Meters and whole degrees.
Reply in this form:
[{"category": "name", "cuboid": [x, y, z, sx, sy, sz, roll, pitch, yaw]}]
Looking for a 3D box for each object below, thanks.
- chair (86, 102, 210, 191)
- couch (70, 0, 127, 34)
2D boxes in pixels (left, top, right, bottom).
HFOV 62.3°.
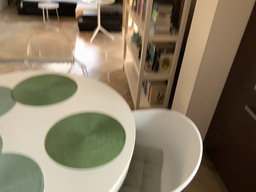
[{"category": "chair", "cuboid": [0.090, 0.540, 1.210, 0.480, 0.810, 0.460, 12, 35, 9]}, {"category": "couch", "cuboid": [-0.650, -2.000, 4.710, 1.090, 0.840, 1.080, 0, 35, -8]}]
